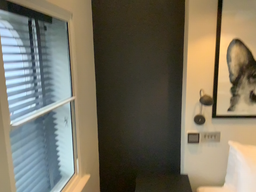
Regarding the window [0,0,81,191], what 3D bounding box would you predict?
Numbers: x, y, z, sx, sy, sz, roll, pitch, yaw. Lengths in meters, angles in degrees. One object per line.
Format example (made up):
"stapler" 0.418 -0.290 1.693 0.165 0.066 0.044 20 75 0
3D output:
"window" -0.440 0.110 1.170 0.040 1.250 0.790 0 11 6
